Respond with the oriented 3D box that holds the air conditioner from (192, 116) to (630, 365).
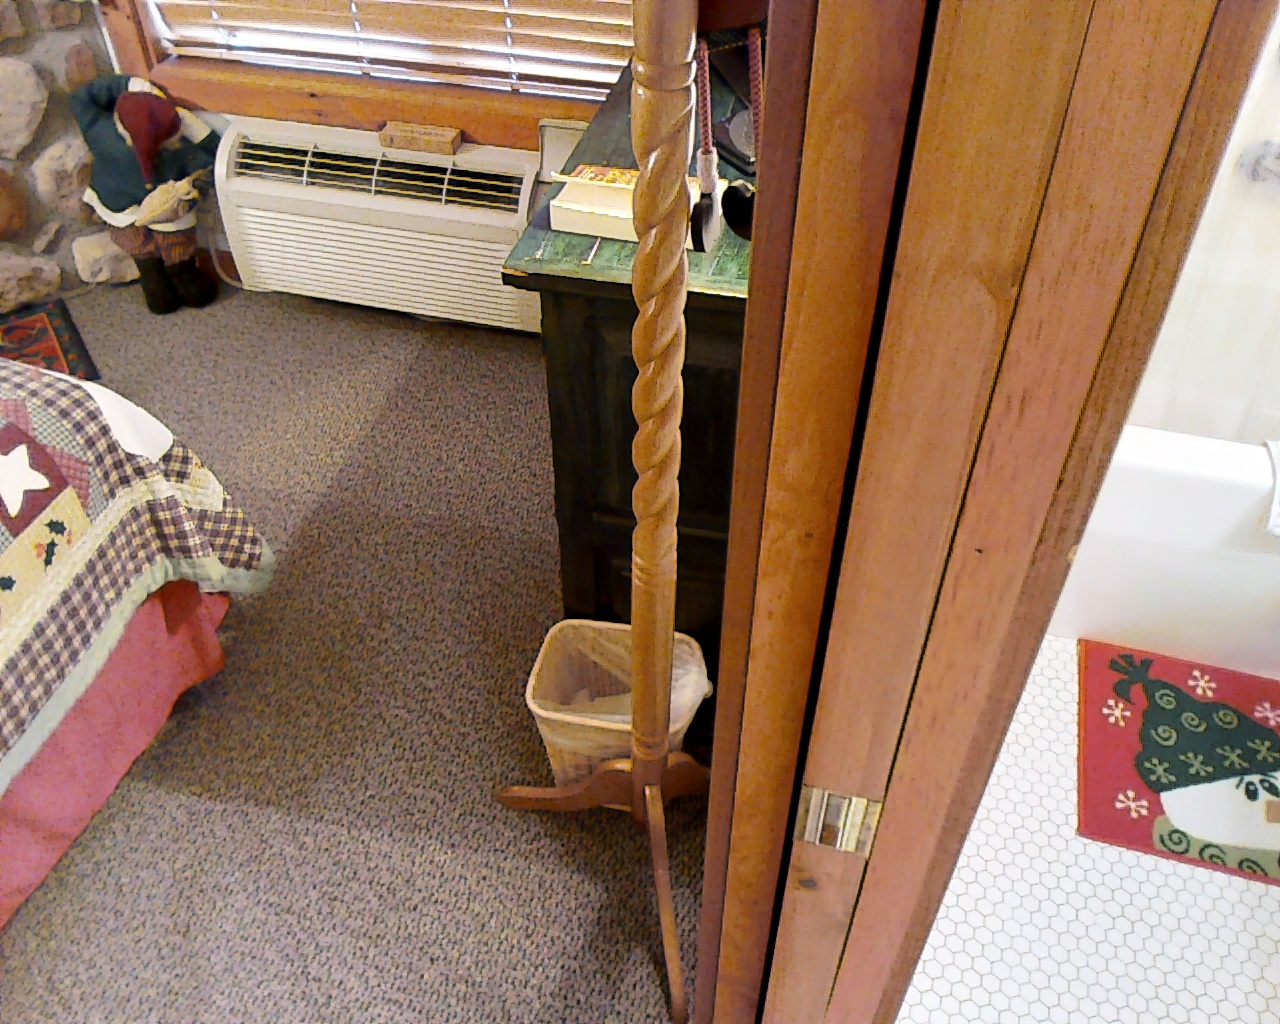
[{"bbox_3d":[-0.540,-0.670,2.630,1.010,0.390,0.220,12,43,13],"label":"air conditioner"}]
